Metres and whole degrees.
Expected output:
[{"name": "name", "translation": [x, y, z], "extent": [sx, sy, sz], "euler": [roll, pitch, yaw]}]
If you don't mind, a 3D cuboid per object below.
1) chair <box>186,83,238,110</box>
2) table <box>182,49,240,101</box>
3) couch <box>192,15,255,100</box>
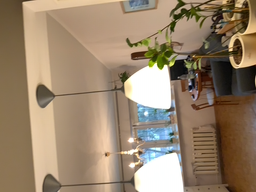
[{"name": "chair", "translation": [1.630, 0.020, 4.190], "extent": [0.390, 0.830, 0.430], "euler": [42, -138, -85]}, {"name": "table", "translation": [1.660, -0.370, 4.470], "extent": [1.190, 0.740, 0.860], "euler": [37, -132, -85]}, {"name": "couch", "translation": [1.510, -0.440, 2.920], "extent": [1.170, 0.870, 0.880], "euler": [37, -132, -85]}]
